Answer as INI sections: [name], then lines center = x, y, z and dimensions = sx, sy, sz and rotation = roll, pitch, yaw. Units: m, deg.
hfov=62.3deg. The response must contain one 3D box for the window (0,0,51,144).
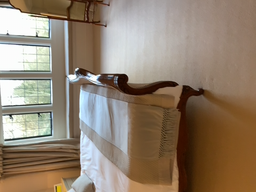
[window]
center = -2.250, -0.470, 4.560
dimensions = 0.100, 1.050, 2.940
rotation = 14, 105, 62
